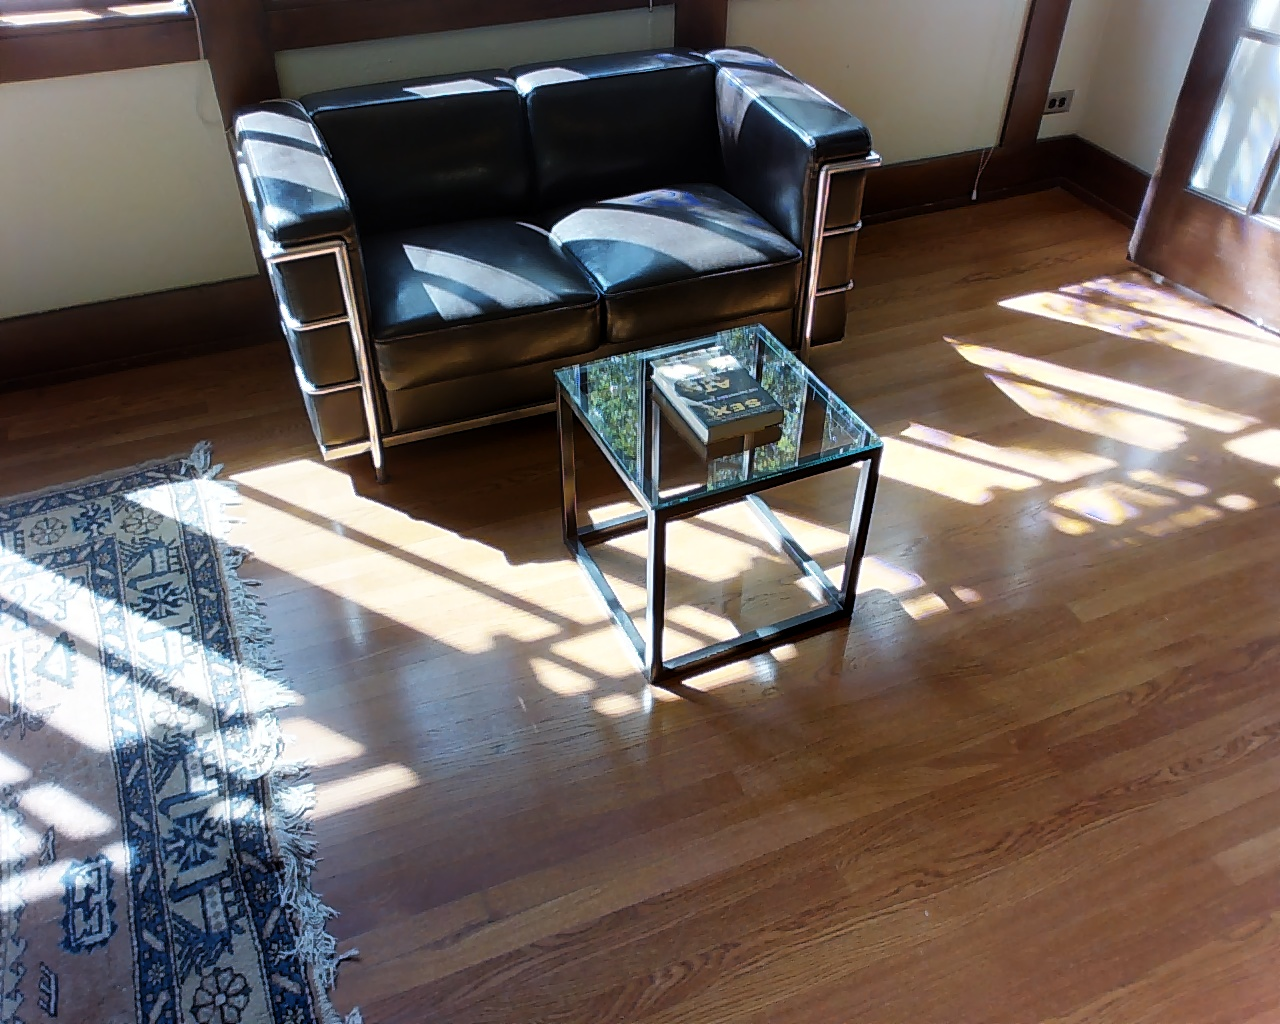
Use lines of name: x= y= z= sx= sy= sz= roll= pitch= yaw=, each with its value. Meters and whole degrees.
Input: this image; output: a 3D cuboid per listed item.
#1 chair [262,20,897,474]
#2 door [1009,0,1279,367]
chair: x=-0.170 y=-0.730 z=2.740 sx=1.300 sy=0.640 sz=0.790 roll=-15 pitch=44 yaw=-17
door: x=1.620 y=-1.590 z=2.630 sx=0.250 sy=2.130 sz=1.200 roll=-13 pitch=43 yaw=-16
